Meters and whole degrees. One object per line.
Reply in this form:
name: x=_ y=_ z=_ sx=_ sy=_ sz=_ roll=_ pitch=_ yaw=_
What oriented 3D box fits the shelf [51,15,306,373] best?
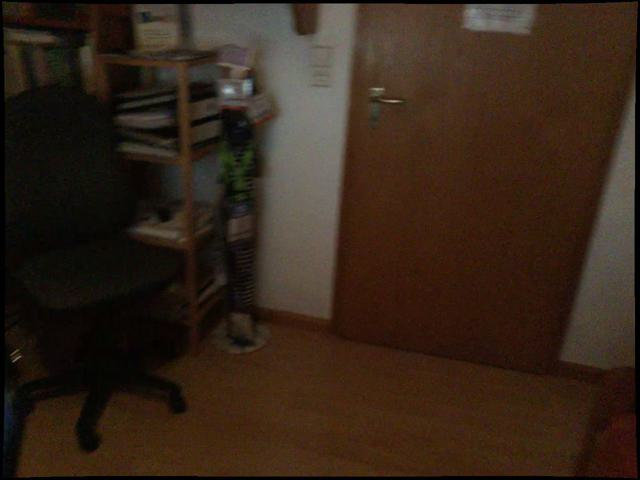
shelf: x=-0.589 y=-0.170 z=2.310 sx=0.620 sy=1.201 sz=0.460 roll=24 pitch=28 yaw=5
